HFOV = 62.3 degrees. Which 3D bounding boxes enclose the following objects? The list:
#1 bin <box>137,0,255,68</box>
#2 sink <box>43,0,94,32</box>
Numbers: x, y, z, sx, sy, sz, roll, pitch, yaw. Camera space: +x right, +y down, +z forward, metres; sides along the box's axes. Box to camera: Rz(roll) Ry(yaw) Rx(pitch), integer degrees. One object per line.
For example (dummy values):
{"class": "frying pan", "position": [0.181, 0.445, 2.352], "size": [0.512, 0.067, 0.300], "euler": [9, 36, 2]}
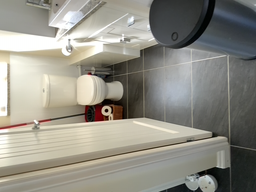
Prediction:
{"class": "bin", "position": [0.440, -0.330, 1.100], "size": [0.360, 0.710, 0.260], "euler": [-4, 86, 55]}
{"class": "sink", "position": [-0.430, -0.690, 1.440], "size": [0.670, 0.120, 0.310], "euler": [-1, 89, 55]}
